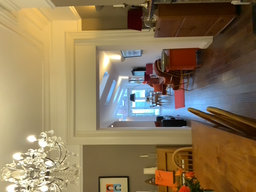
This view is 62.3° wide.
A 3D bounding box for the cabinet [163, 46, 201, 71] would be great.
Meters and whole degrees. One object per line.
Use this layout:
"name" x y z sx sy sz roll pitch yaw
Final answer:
"cabinet" 1.220 -0.840 4.920 0.680 0.730 0.490 -65 -27 -85
